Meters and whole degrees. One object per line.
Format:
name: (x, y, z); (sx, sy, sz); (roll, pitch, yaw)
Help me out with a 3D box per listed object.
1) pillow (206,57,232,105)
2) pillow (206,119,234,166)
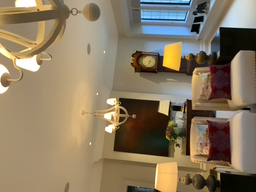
pillow: (1.380, -0.210, 3.220); (0.340, 0.310, 0.620); (24, -116, -61)
pillow: (1.310, 0.650, 3.070); (0.370, 0.320, 0.620); (25, -114, -72)
